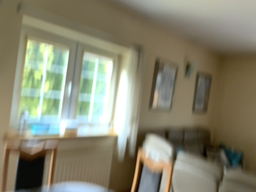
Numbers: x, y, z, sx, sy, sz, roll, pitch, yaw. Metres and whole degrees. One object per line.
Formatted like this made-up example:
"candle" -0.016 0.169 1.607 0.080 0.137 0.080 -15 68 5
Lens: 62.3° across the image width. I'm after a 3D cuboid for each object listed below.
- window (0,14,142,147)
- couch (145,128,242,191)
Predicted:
"window" -0.620 -0.070 2.700 1.770 1.290 0.240 7 1 -41
"couch" 1.320 1.190 4.000 1.880 0.950 0.860 7 1 -45
